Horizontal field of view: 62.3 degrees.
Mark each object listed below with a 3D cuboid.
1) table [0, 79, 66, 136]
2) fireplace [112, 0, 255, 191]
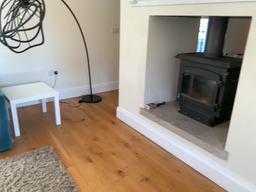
[{"bbox_3d":[-1.290,0.110,2.870,0.650,0.460,0.660,-12,25,-35],"label":"table"},{"bbox_3d":[0.820,-0.220,2.230,0.980,1.630,2.110,-12,25,-35],"label":"fireplace"}]
